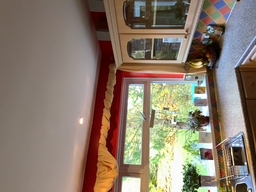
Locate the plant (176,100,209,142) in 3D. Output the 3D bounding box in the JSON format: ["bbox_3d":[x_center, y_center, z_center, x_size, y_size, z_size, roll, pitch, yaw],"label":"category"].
[{"bbox_3d":[0.780,0.310,2.620,0.280,0.300,0.420,84,-171,-62],"label":"plant"}]

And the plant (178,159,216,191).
[{"bbox_3d":[0.740,0.900,2.320,0.260,0.320,0.330,85,-173,-57],"label":"plant"}]

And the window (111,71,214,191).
[{"bbox_3d":[0.350,1.250,2.190,0.080,1.090,3.540,84,-171,-62],"label":"window"}]

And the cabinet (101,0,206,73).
[{"bbox_3d":[0.240,-0.720,2.290,1.170,0.870,0.340,84,-171,-64],"label":"cabinet"}]
